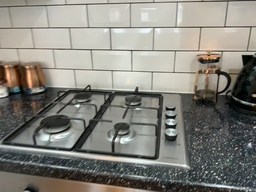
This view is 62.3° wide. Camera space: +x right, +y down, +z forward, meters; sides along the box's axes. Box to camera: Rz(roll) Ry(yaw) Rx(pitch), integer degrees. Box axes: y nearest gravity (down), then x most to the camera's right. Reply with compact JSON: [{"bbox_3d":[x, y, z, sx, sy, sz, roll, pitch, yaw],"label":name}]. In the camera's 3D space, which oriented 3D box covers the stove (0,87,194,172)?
[{"bbox_3d":[-0.070,0.070,0.810,0.560,0.020,0.530,3,22,9],"label":"stove"}]
